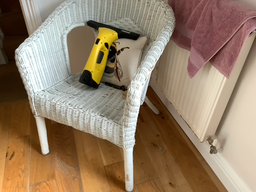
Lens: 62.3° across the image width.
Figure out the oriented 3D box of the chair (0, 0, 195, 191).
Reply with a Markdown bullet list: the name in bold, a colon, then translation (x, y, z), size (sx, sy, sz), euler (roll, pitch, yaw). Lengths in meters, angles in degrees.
- **chair**: translation (-0.110, -0.060, 1.120), size (0.620, 0.690, 0.640), euler (19, 43, 19)
